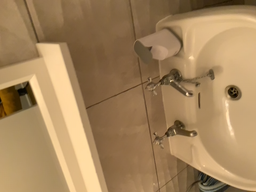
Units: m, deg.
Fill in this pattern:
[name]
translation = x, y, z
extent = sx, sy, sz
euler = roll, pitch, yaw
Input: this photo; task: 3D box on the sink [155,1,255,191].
[sink]
translation = 0.350, 0.030, 0.710
extent = 0.440, 0.190, 0.620
euler = 19, 126, 50
